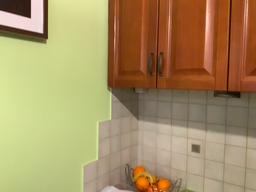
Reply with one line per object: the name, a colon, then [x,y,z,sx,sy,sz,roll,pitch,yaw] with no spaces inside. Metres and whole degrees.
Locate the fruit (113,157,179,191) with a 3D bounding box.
fruit: [0.110,0.500,1.250,0.290,0.150,0.260,4,5,35]
